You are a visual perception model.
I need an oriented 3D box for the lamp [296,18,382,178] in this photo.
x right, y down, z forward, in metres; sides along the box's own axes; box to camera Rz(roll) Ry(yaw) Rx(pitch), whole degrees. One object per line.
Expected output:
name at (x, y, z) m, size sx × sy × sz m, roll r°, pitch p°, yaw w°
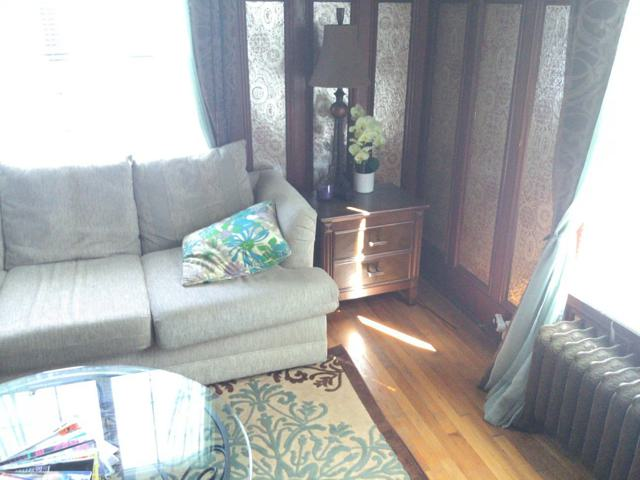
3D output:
lamp at (0.080, -0.690, 2.850) m, size 0.300 × 0.710 × 0.330 m, roll -4°, pitch 16°, yaw -20°

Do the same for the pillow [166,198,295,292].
pillow at (-0.410, 0.000, 2.560) m, size 0.470 × 0.270 × 0.480 m, roll -4°, pitch 16°, yaw -20°

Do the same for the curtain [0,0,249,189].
curtain at (-1.180, -0.970, 2.420) m, size 1.700 × 1.450 × 0.350 m, roll -4°, pitch 16°, yaw -20°
